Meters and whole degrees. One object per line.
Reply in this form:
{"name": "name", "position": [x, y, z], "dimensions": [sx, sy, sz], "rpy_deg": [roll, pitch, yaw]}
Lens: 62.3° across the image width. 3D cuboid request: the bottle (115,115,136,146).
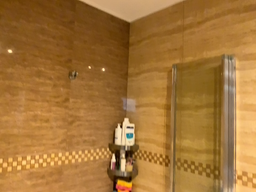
{"name": "bottle", "position": [-0.020, 0.300, 1.890], "dimensions": [0.160, 0.250, 0.170], "rpy_deg": [2, -5, 1]}
